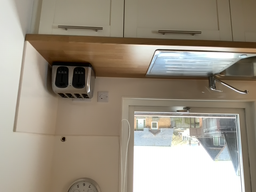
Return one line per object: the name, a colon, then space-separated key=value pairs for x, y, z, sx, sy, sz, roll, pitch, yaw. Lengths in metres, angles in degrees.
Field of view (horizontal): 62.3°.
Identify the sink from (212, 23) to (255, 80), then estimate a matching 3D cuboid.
sink: x=0.910 y=-0.280 z=1.490 sx=0.410 sy=0.200 sz=0.520 roll=1 pitch=169 yaw=-3
